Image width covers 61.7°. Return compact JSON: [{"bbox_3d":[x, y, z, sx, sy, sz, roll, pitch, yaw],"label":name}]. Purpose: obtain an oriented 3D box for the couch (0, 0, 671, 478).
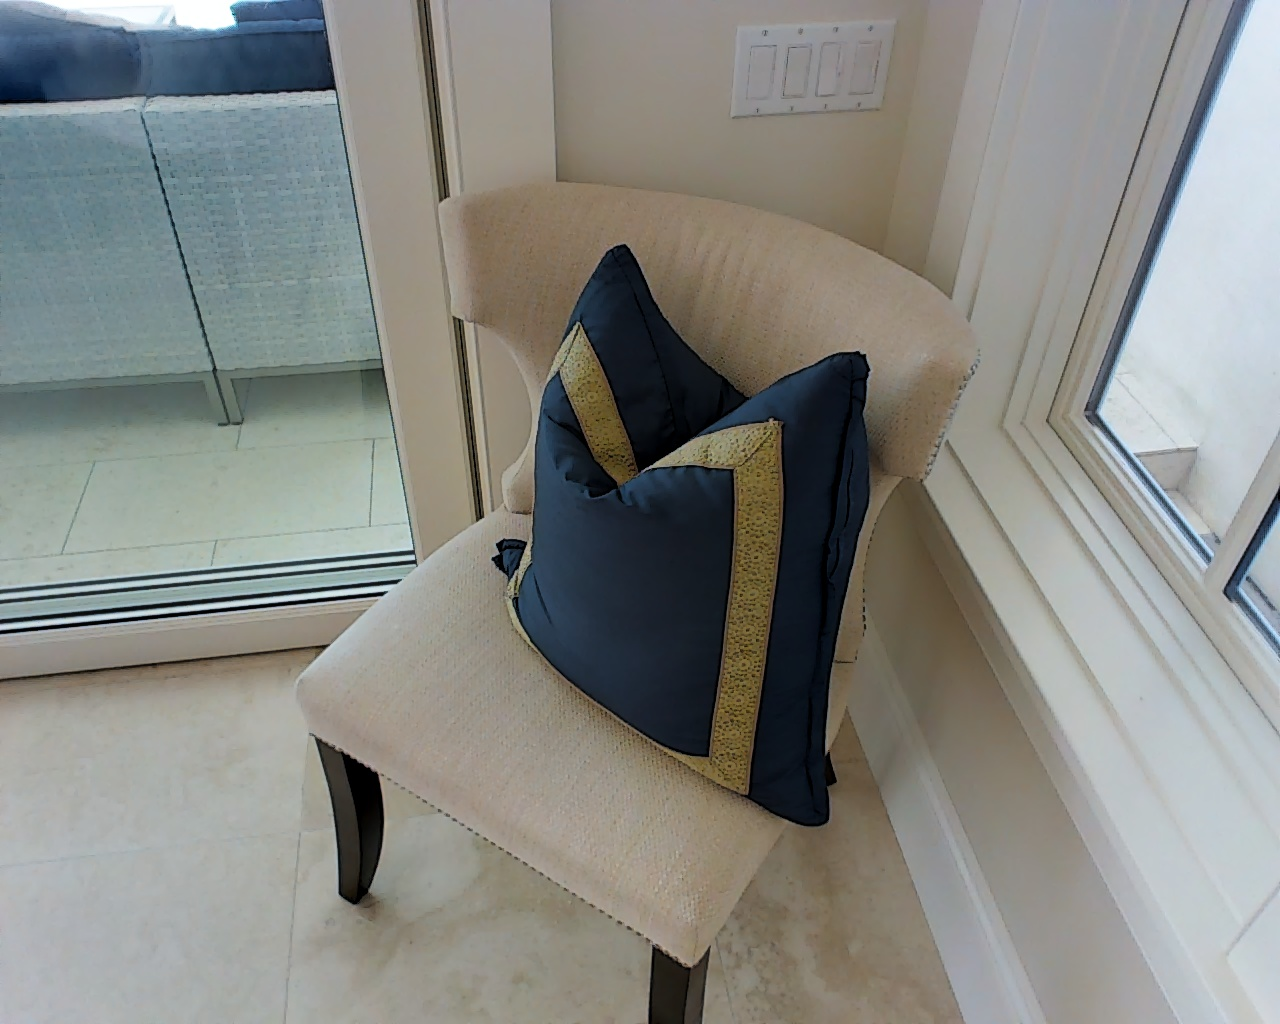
[{"bbox_3d":[-1.390,-1.220,3.080,2.580,0.880,2.420,-5,42,-6],"label":"couch"}]
